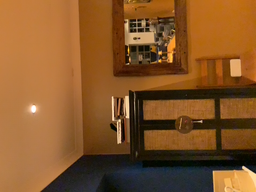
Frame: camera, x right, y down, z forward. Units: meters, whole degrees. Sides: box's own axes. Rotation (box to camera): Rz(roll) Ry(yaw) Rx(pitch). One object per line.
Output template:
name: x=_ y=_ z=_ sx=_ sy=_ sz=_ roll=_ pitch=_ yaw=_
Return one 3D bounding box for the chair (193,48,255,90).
chair: x=1.350 y=-0.310 z=2.570 sx=0.470 sy=0.980 sz=0.420 roll=31 pitch=-123 yaw=-87
